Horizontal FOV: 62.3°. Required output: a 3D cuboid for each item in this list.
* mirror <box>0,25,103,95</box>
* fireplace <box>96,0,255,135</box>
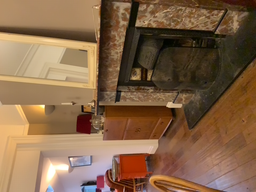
[{"bbox_3d":[-0.940,-0.300,2.020,0.750,1.360,0.190,105,162,-56],"label":"mirror"},{"bbox_3d":[0.300,-0.290,2.160,1.600,1.180,0.700,104,163,-53],"label":"fireplace"}]
